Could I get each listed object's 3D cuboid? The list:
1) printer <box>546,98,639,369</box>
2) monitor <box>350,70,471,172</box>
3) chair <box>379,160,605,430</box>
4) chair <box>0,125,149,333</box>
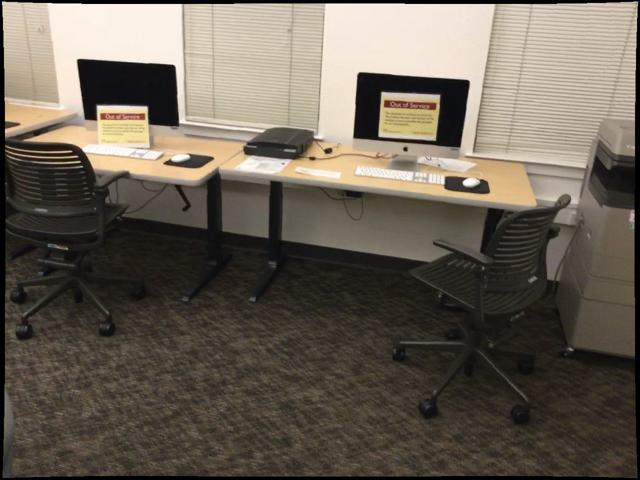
[{"bbox_3d":[1.538,-0.050,2.690,0.669,1.021,0.800,8,25,13],"label":"printer"},{"bbox_3d":[0.440,-0.591,2.830,0.520,0.400,0.270,8,25,13],"label":"monitor"},{"bbox_3d":[0.649,0.180,2.350,0.510,0.831,0.570,-14,29,-32],"label":"chair"},{"bbox_3d":[-1.219,-0.070,2.760,0.609,0.821,0.590,0,24,-5],"label":"chair"}]
